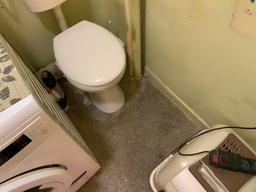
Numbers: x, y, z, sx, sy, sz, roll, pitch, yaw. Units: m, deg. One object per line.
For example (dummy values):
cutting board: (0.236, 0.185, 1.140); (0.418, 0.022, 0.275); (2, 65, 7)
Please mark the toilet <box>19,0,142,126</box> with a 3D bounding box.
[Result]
toilet: (-0.240, -0.320, 1.150); (0.360, 0.960, 0.570); (-33, 65, -13)
